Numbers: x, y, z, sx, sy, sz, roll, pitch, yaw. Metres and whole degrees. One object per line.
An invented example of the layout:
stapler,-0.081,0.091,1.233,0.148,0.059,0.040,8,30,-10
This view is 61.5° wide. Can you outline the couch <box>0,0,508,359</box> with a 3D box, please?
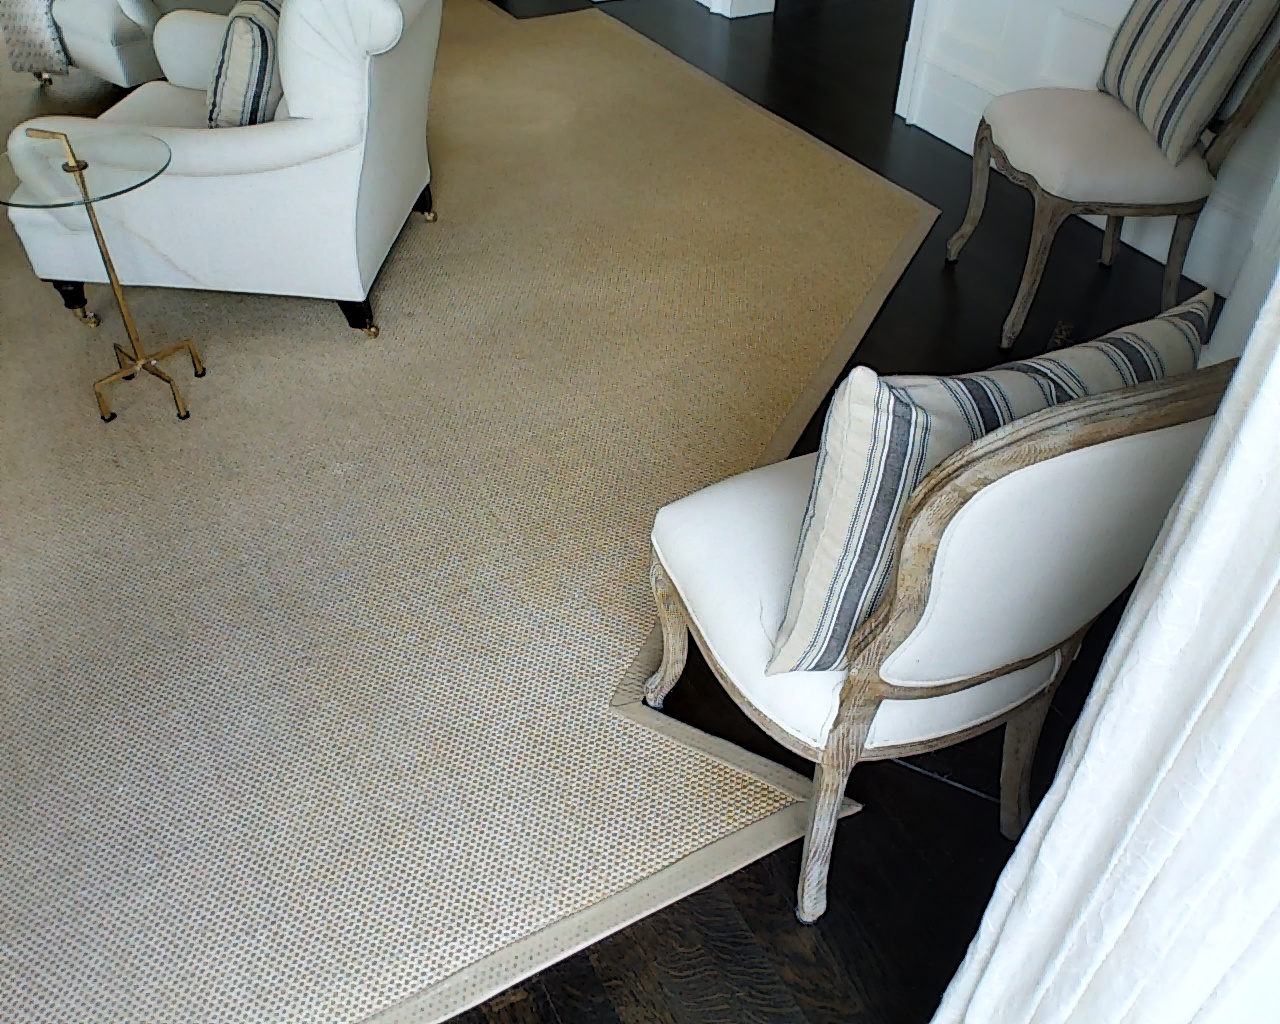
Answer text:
couch,-0.980,-1.060,2.750,1.050,0.910,0.920,4,42,4
